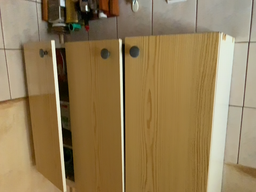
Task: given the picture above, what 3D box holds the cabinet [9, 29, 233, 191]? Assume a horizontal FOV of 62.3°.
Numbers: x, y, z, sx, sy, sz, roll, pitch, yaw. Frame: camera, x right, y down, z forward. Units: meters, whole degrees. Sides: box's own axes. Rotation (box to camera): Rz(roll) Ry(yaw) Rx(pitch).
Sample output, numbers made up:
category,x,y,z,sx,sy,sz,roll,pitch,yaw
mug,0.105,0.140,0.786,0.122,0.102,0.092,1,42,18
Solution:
category,x,y,z,sx,sy,sz,roll,pitch,yaw
cabinet,-0.090,0.100,1.000,0.960,0.710,0.330,7,-166,32
